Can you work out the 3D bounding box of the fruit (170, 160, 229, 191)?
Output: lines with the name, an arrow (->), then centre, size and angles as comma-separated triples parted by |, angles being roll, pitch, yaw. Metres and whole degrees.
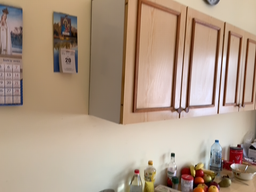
fruit -> 0.570, 0.650, 1.670 | 0.450, 0.120, 0.240 | -1, 5, -42
